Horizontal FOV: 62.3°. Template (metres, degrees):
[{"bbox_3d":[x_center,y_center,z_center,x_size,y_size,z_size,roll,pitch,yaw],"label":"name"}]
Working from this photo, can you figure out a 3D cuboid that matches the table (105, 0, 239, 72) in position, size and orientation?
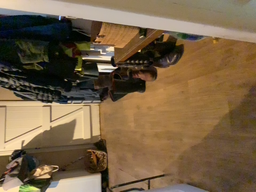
[{"bbox_3d":[0.200,-0.430,1.650,1.140,0.450,0.260,168,101,-67],"label":"table"}]
